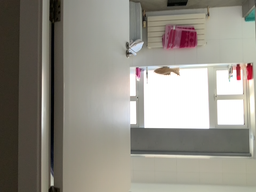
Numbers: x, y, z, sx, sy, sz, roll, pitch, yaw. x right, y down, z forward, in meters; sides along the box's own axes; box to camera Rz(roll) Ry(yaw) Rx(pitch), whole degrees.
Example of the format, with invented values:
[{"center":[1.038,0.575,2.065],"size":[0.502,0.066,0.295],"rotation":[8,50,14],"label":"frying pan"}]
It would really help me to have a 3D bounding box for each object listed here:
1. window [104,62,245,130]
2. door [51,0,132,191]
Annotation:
[{"center":[0.650,0.010,3.180],"size":[2.050,0.970,0.060],"rotation":[-1,178,6],"label":"window"},{"center":[-0.140,-0.330,1.200],"size":[0.050,2.040,0.810],"rotation":[-1,178,19],"label":"door"}]
